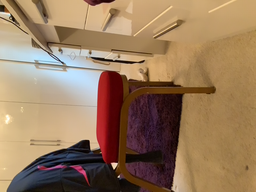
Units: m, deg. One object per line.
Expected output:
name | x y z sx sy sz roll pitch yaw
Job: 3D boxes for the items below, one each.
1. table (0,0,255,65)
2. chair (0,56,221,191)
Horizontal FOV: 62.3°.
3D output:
table | -0.050 -0.490 1.070 1.270 0.790 0.510 -162 76 -75
chair | -0.110 0.160 1.020 0.480 0.840 0.580 -153 68 -75
